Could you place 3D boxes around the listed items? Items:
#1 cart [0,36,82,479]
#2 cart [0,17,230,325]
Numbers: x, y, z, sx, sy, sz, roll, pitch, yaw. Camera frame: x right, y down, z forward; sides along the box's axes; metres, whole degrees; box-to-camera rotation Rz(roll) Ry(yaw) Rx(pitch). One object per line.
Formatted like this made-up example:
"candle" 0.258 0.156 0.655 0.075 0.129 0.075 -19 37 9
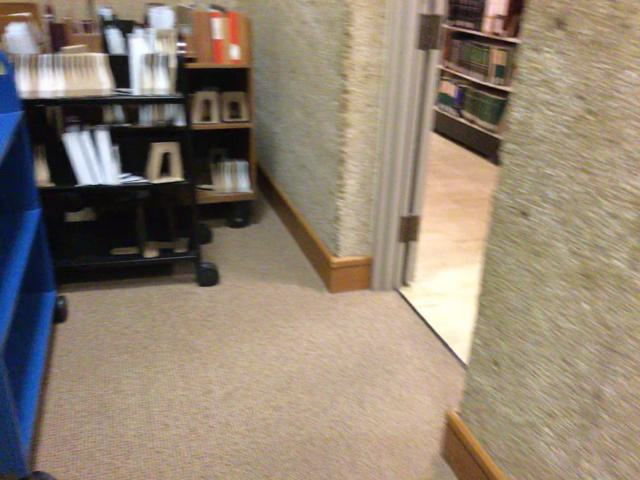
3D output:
"cart" -1.050 0.050 1.650 0.530 1.050 1.050 -8 28 -18
"cart" -0.980 -0.340 2.490 1.000 1.080 0.660 -8 28 -18
